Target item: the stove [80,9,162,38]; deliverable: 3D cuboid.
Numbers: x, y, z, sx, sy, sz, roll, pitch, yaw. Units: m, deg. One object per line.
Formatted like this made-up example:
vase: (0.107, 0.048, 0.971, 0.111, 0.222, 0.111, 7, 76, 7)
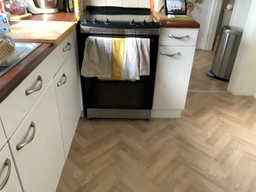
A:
stove: (-0.050, -0.650, 1.860, 0.600, 0.100, 0.640, 3, 29, -1)
